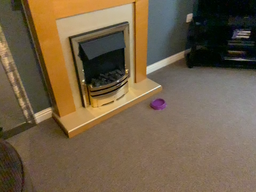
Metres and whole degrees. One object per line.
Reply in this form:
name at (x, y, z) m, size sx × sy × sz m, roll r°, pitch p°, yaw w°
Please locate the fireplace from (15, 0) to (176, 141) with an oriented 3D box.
fireplace at (-0.150, -0.350, 1.650) m, size 1.040 × 1.030 × 0.350 m, roll -25°, pitch 43°, yaw -29°
